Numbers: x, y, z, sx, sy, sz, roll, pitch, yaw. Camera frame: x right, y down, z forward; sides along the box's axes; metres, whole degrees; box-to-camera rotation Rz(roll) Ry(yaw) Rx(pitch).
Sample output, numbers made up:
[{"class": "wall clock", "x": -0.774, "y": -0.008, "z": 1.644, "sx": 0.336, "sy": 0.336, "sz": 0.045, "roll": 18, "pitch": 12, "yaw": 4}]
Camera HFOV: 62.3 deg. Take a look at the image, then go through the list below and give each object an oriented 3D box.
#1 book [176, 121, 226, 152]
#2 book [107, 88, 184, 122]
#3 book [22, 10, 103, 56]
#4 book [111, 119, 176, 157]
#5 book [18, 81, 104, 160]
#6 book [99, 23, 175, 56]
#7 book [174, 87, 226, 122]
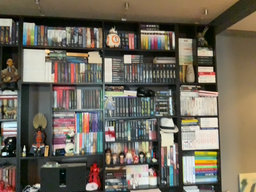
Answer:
[{"class": "book", "x": 0.820, "y": 0.450, "z": 2.410, "sx": 0.460, "sy": 0.300, "sz": 0.270, "roll": 0, "pitch": -4, "yaw": -9}, {"class": "book", "x": 0.180, "y": 0.100, "z": 2.350, "sx": 0.820, "sy": 0.360, "sz": 0.240, "roll": 0, "pitch": -4, "yaw": -5}, {"class": "book", "x": -0.660, "y": -0.650, "z": 2.240, "sx": 0.770, "sy": 0.360, "sz": 0.260, "roll": 0, "pitch": -4, "yaw": -9}, {"class": "book", "x": 0.150, "y": 0.440, "z": 2.320, "sx": 0.650, "sy": 0.360, "sz": 0.300, "roll": 0, "pitch": -4, "yaw": -9}, {"class": "book", "x": -0.660, "y": 0.240, "z": 2.210, "sx": 0.810, "sy": 0.760, "sz": 0.240, "roll": 0, "pitch": -4, "yaw": -9}, {"class": "book", "x": 0.090, "y": -0.610, "z": 2.340, "sx": 0.810, "sy": 0.250, "sz": 0.230, "roll": 0, "pitch": -4, "yaw": -9}, {"class": "book", "x": 0.810, "y": 0.100, "z": 2.420, "sx": 0.480, "sy": 0.380, "sz": 0.260, "roll": 0, "pitch": -4, "yaw": -9}]
